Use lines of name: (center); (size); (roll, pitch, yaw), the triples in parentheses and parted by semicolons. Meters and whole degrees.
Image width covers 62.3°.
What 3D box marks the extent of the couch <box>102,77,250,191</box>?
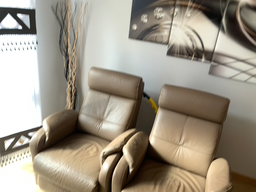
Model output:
couch: (0.330, 0.510, 1.630); (0.710, 0.980, 0.890); (15, 25, 18)

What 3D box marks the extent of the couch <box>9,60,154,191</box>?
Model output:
couch: (-0.330, 0.320, 1.880); (0.750, 0.990, 0.900); (15, 25, 18)
